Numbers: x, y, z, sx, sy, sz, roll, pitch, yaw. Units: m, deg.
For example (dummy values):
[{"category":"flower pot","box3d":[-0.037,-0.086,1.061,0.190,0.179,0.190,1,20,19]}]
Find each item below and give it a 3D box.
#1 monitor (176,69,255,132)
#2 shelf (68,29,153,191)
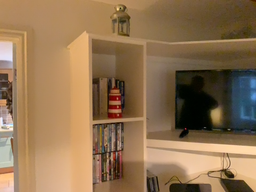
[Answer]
[{"category":"monitor","box3d":[0.710,0.030,1.510,0.720,0.430,0.060,0,2,13]},{"category":"shelf","box3d":[-0.130,0.640,1.340,0.380,1.950,0.440,-1,2,-28]}]
